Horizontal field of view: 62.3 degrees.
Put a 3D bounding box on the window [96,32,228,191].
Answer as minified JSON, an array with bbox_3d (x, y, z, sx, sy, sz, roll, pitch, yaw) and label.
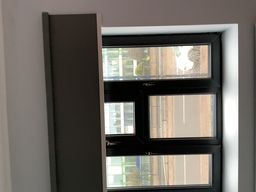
[{"bbox_3d":[0.300,0.190,1.890,0.160,1.110,1.450,-111,20,-87],"label":"window"}]
